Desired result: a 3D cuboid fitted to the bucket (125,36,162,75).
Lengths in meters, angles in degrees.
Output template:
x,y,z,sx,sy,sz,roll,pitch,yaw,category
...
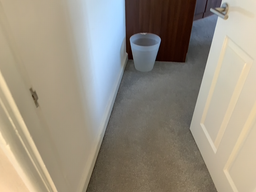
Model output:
x,y,z,sx,sy,sz,roll,pitch,yaw,category
0.150,-0.390,2.040,0.320,0.280,0.210,6,40,7,bucket
